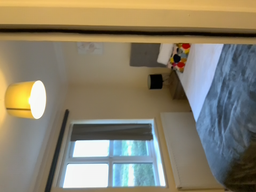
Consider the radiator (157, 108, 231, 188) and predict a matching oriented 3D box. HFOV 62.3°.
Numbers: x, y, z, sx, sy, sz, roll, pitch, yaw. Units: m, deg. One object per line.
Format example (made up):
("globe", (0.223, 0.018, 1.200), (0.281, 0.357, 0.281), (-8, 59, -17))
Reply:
("radiator", (0.840, 0.640, 2.980), (1.300, 0.650, 0.080), (-94, 5, -51))
